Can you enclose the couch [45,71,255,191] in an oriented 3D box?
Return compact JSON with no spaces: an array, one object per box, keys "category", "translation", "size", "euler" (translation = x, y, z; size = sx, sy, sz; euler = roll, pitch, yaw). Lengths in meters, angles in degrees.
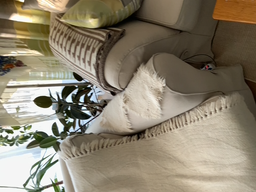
[{"category":"couch","translation":[0.200,0.490,1.160],"size":[1.080,0.830,0.860],"euler":[-32,70,48]}]
